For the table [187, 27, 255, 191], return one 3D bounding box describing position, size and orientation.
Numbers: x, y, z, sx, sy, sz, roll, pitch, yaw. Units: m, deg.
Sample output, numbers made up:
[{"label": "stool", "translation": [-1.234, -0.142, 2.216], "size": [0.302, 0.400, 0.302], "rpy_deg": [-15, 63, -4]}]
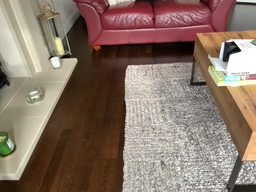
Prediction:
[{"label": "table", "translation": [0.780, -0.010, 1.290], "size": [0.600, 0.460, 1.010], "rpy_deg": [-2, 37, 4]}]
